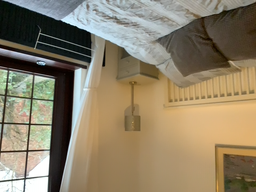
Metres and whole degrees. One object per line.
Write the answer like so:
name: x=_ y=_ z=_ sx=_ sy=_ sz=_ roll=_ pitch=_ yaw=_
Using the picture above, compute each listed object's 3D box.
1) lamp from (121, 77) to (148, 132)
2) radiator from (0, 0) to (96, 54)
lamp: x=0.080 y=0.120 z=2.630 sx=0.270 sy=0.640 sz=0.190 roll=8 pitch=168 yaw=-41
radiator: x=-0.900 y=-0.790 z=2.030 sx=1.300 sy=0.510 sz=0.060 roll=7 pitch=169 yaw=-37
